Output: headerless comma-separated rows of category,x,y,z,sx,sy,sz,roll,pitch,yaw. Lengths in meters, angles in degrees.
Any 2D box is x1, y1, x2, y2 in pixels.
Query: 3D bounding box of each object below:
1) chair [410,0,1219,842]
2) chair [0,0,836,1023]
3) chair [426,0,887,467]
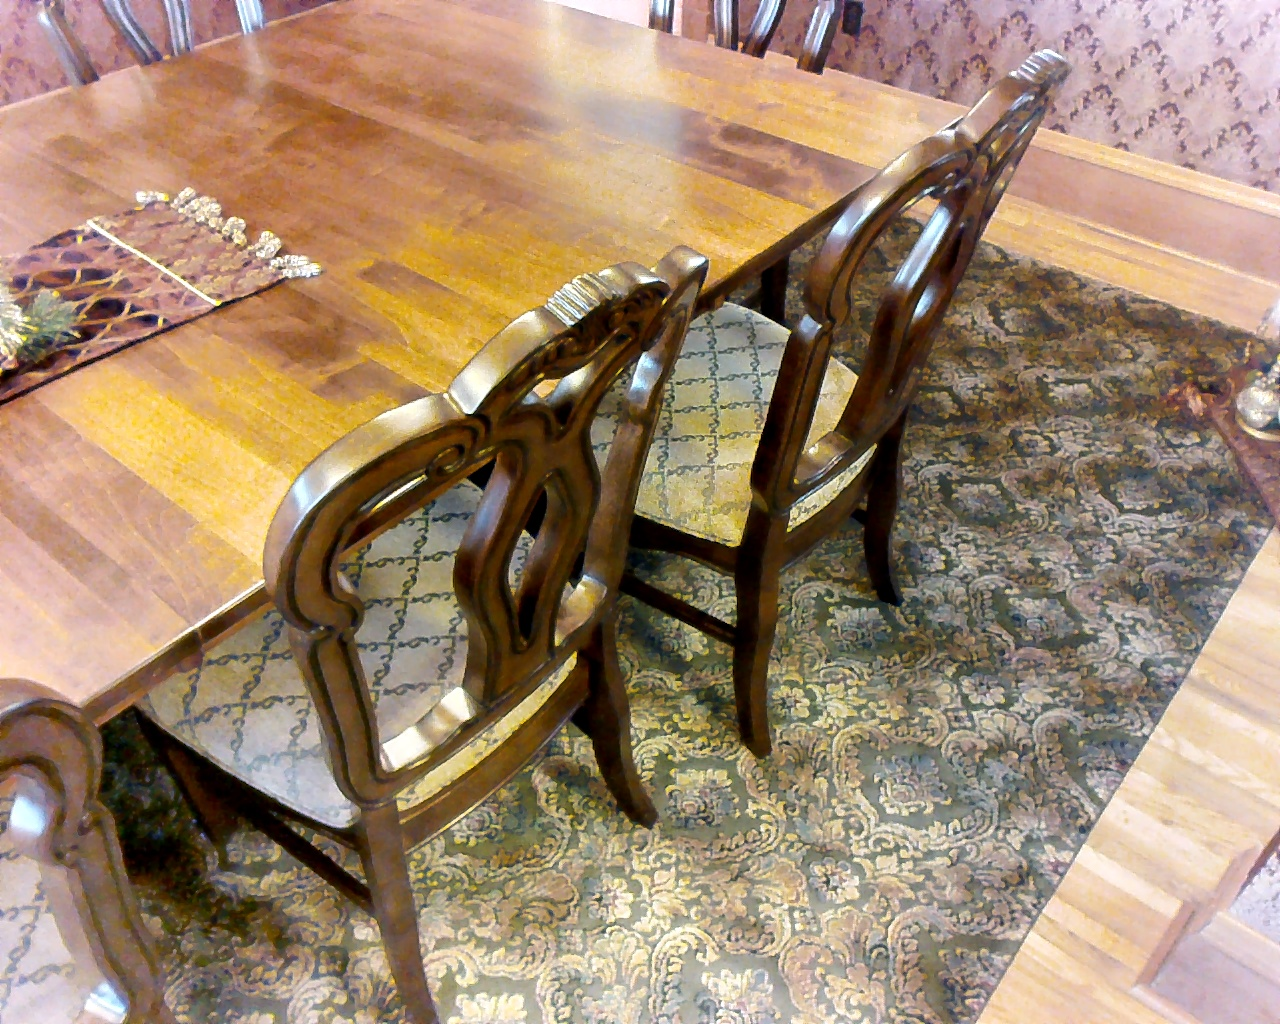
chair,0.250,-0.260,1.720,0.670,1.160,0.830,31,51,28
chair,-0.280,0.100,1.340,0.640,1.110,0.660,30,50,28
chair,0.050,-0.820,2.380,0.600,1.080,0.740,30,50,28
